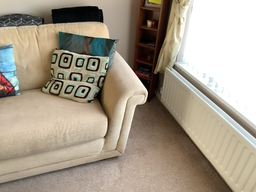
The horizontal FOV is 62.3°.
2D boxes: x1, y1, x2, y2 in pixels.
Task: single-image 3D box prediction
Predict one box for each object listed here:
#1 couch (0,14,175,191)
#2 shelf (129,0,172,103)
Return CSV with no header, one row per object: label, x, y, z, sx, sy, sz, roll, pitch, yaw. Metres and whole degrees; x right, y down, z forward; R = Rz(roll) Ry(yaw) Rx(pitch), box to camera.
couch,-1.090,0.010,1.540,2.460,0.900,1.100,-7,34,-17
shelf,0.230,-0.800,2.040,0.290,1.870,0.190,26,39,31
